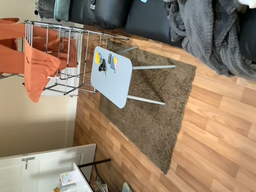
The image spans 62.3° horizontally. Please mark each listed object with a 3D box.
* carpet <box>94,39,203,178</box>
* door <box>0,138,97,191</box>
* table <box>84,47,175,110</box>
[{"bbox_3d":[0.040,-0.010,2.360,1.550,0.050,1.020,32,117,50],"label":"carpet"},{"bbox_3d":[-1.470,1.130,2.820,0.210,2.080,0.870,35,119,49],"label":"door"},{"bbox_3d":[-0.030,-0.200,2.020,0.750,0.470,0.400,28,114,51],"label":"table"}]
